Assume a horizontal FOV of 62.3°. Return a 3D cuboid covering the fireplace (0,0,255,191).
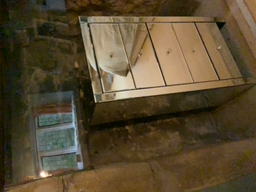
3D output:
[{"bbox_3d":[-0.070,-0.220,1.470,1.020,1.780,2.130,128,134,-63],"label":"fireplace"}]
